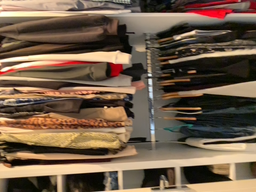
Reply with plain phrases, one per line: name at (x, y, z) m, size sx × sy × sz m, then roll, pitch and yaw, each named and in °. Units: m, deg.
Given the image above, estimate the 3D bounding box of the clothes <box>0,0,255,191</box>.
clothes at (0.080, -0.780, 1.270) m, size 0.680 × 2.010 × 2.320 m, roll 154°, pitch 114°, yaw -83°
